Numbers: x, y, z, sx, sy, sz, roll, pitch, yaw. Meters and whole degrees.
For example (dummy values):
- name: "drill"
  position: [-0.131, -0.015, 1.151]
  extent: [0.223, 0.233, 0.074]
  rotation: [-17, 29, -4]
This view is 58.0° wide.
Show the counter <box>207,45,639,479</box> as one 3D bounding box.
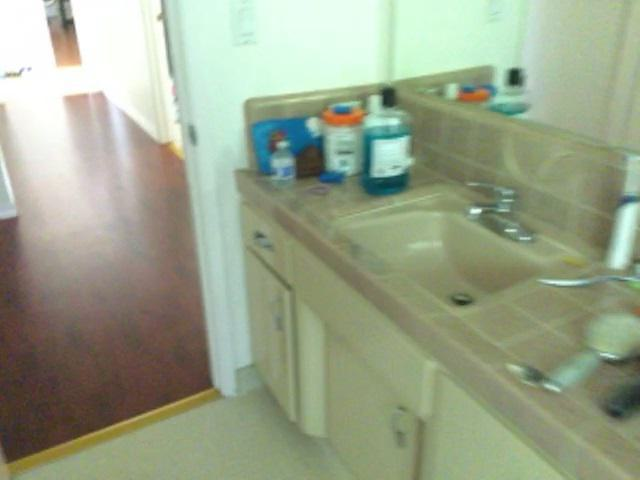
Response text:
- name: "counter"
  position: [0.630, 0.200, 0.660]
  extent: [0.650, 0.420, 2.690]
  rotation: [-14, 30, -25]

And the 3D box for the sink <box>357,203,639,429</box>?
- name: "sink"
  position: [0.340, 0.120, 1.220]
  extent: [0.330, 0.190, 0.460]
  rotation: [-14, 30, -24]
